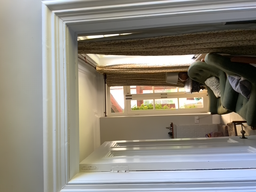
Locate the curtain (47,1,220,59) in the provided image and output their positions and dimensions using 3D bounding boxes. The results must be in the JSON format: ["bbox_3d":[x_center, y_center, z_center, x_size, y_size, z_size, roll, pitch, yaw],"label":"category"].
[{"bbox_3d":[0.050,-0.750,2.550,0.430,1.890,0.440,-24,-69,-86],"label":"curtain"}]

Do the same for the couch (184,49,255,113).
[{"bbox_3d":[1.490,-0.200,3.610,0.850,0.830,0.840,67,-160,-78],"label":"couch"}]

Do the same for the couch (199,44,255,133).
[{"bbox_3d":[1.420,-0.140,2.610,0.790,0.830,0.890,-79,-15,-74],"label":"couch"}]

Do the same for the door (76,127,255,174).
[{"bbox_3d":[0.770,0.350,1.550,0.830,2.080,0.090,1,-94,-86],"label":"door"}]
